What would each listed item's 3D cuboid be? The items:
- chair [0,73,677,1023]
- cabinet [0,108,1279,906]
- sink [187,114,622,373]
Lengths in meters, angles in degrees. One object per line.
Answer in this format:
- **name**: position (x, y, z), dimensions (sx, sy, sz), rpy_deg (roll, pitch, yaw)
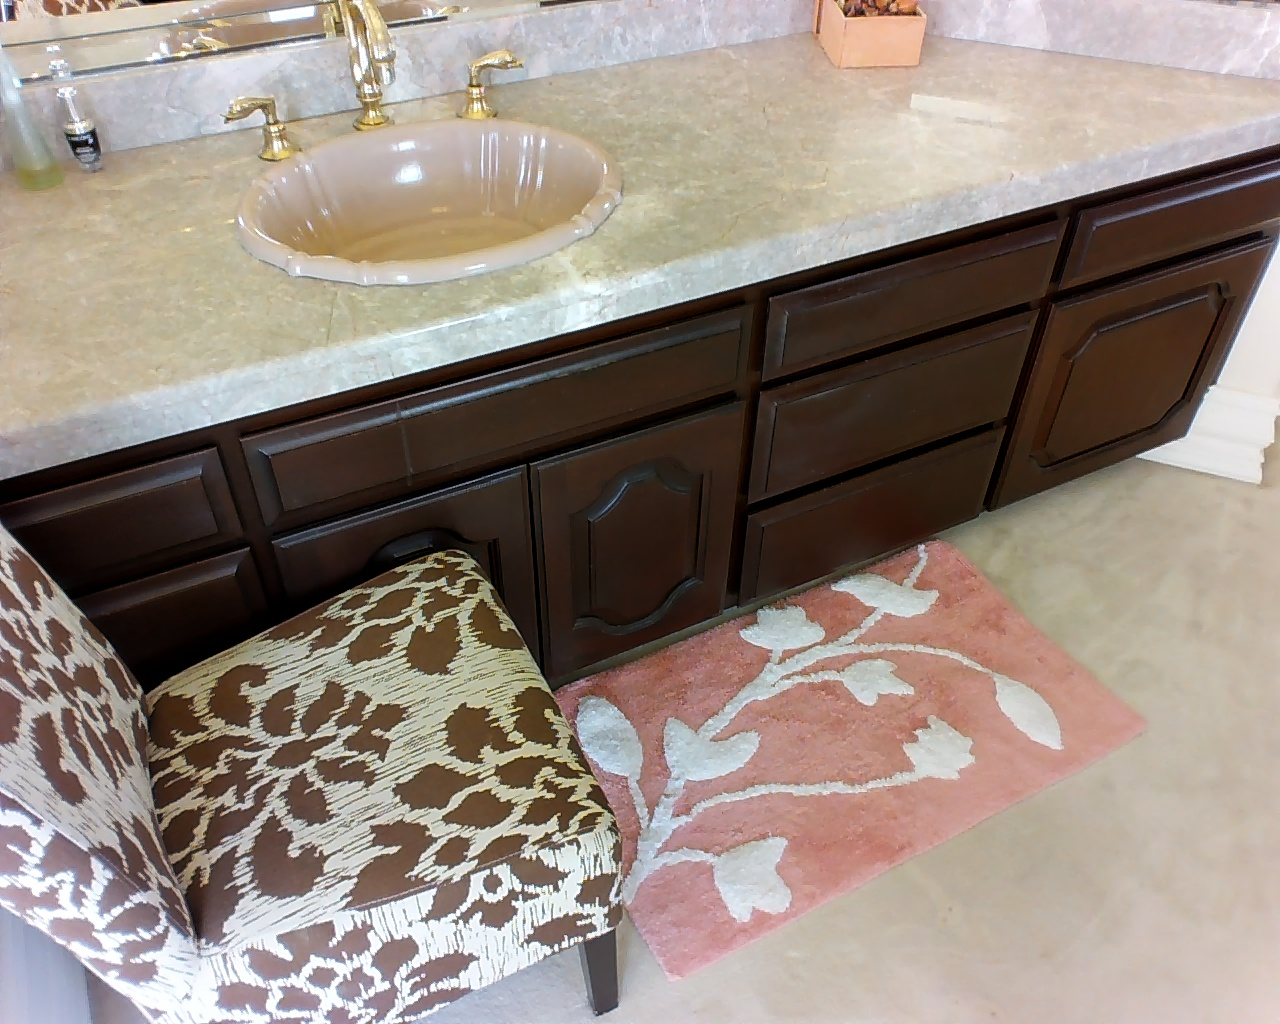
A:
- **chair**: position (-0.420, 0.200, 1.120), dimensions (0.690, 1.020, 0.560), rpy_deg (-18, 45, -20)
- **cabinet**: position (0.190, -0.080, 1.640), dimensions (2.250, 0.760, 0.080), rpy_deg (-18, 45, -20)
- **sink**: position (-0.320, -0.390, 1.480), dimensions (0.510, 0.140, 0.300), rpy_deg (-18, 45, -20)
